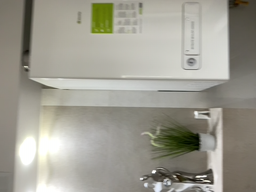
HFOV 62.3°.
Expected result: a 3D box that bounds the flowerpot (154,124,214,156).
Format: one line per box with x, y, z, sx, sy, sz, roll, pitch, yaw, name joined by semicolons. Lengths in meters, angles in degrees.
0.340;0.270;1.330;0.140;0.340;0.160;29;-118;-89;flowerpot
